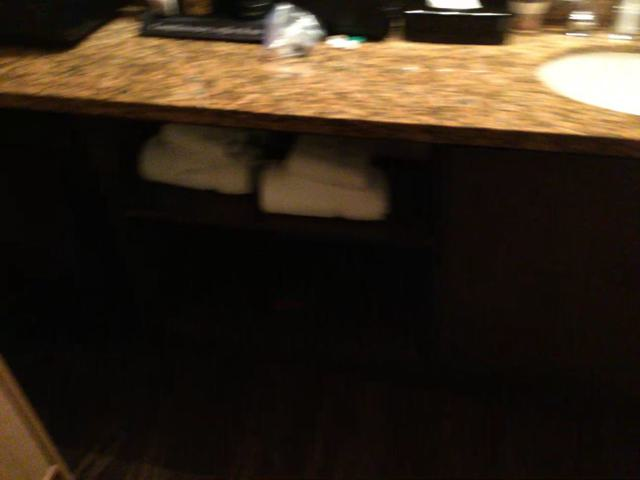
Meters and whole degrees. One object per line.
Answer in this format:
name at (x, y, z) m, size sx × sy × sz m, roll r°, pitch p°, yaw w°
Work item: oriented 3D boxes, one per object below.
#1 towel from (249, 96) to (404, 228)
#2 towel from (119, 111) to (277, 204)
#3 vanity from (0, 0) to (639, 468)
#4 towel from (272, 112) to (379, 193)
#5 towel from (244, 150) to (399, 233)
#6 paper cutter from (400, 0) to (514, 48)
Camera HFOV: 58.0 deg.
towel at (0.030, -0.200, 1.400) m, size 0.320 × 0.180 × 0.310 m, roll 4°, pitch 35°, yaw 8°
towel at (-0.300, -0.220, 1.490) m, size 0.330 × 0.130 × 0.230 m, roll 4°, pitch 35°, yaw 8°
vanity at (-0.010, -0.110, 1.490) m, size 2.210 × 1.000 × 0.660 m, roll 4°, pitch 35°, yaw 8°
towel at (0.020, -0.210, 1.360) m, size 0.220 × 0.100 × 0.200 m, roll 4°, pitch 35°, yaw 8°
towel at (0.010, -0.120, 1.370) m, size 0.340 × 0.110 × 0.160 m, roll 4°, pitch 35°, yaw 8°
paper cutter at (0.320, -0.540, 1.380) m, size 0.240 × 0.100 × 0.180 m, roll 4°, pitch 35°, yaw 8°
